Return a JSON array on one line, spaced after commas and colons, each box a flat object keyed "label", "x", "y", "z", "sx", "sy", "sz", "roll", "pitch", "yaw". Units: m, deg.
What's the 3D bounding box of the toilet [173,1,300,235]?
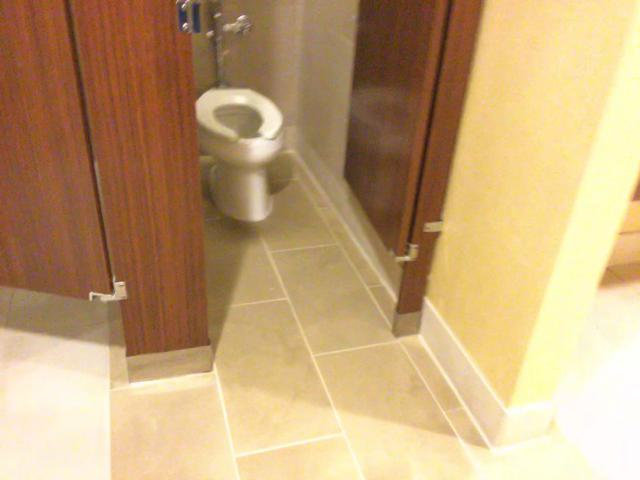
[{"label": "toilet", "x": -0.370, "y": -0.560, "z": 2.510, "sx": 0.380, "sy": 0.790, "sz": 0.720, "roll": -8, "pitch": 31, "yaw": -16}]
